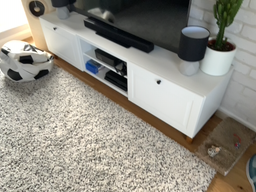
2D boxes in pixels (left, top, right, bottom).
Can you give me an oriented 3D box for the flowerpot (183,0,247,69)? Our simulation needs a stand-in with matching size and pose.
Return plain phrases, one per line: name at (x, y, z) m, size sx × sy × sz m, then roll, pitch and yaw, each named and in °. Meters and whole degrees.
flowerpot at (0.510, -0.460, 1.240) m, size 0.220 × 0.540 × 0.180 m, roll 33°, pitch 53°, yaw 31°
